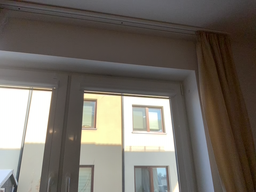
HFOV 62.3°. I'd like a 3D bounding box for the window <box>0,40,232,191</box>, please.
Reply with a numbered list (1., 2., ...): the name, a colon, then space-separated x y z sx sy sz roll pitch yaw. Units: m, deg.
1. window: -0.280 0.460 1.170 1.570 1.420 0.440 3 -23 -11
